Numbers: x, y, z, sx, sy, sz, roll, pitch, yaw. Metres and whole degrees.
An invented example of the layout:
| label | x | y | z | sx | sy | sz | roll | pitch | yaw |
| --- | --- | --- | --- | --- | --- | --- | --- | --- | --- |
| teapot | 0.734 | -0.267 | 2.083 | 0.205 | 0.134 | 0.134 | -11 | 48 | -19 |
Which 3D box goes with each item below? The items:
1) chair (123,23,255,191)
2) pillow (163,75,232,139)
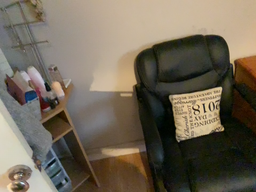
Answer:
| label | x | y | z | sx | sy | sz | roll | pitch | yaw |
| --- | --- | --- | --- | --- | --- | --- | --- | --- | --- |
| chair | 0.400 | 0.200 | 1.190 | 0.620 | 0.890 | 0.720 | -13 | 34 | -1 |
| pillow | 0.390 | 0.070 | 1.190 | 0.290 | 0.250 | 0.060 | -37 | 26 | 12 |
